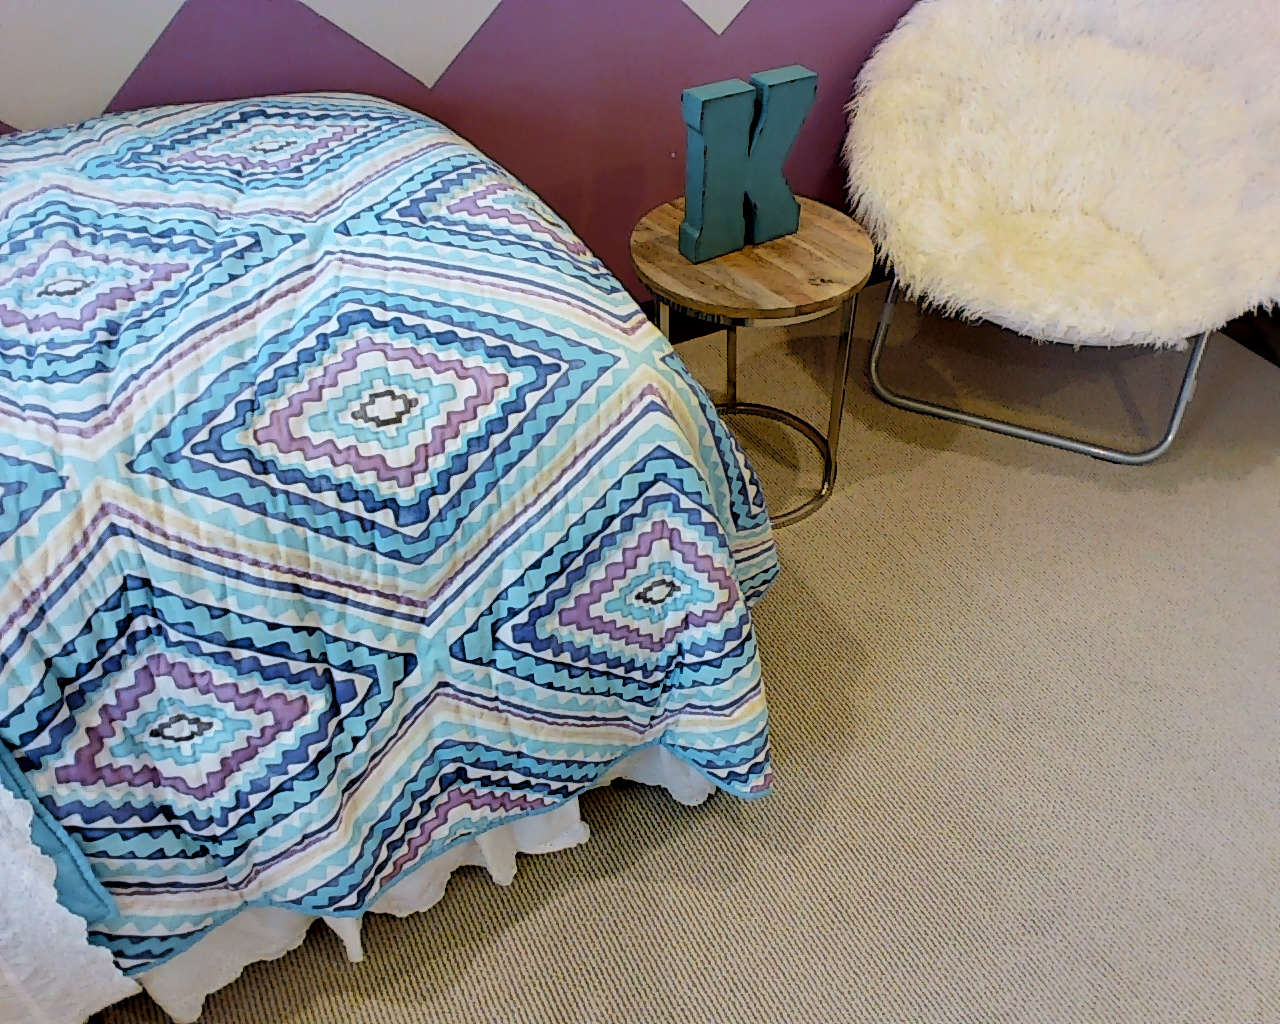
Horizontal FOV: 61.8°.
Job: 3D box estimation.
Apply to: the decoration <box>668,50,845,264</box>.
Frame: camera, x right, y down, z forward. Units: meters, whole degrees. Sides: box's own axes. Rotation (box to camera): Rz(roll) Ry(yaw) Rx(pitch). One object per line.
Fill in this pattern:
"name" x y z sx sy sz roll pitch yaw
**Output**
"decoration" 0.190 -0.600 1.810 0.260 0.280 0.110 -20 45 -21
